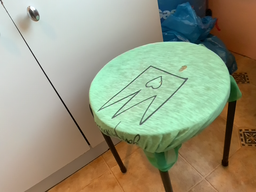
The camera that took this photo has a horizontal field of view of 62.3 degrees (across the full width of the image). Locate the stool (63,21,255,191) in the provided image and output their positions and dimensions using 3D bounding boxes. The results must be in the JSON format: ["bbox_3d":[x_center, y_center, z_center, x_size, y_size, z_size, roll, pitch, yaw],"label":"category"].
[{"bbox_3d":[0.100,0.100,0.640,0.330,0.460,0.330,-31,44,-14],"label":"stool"}]
